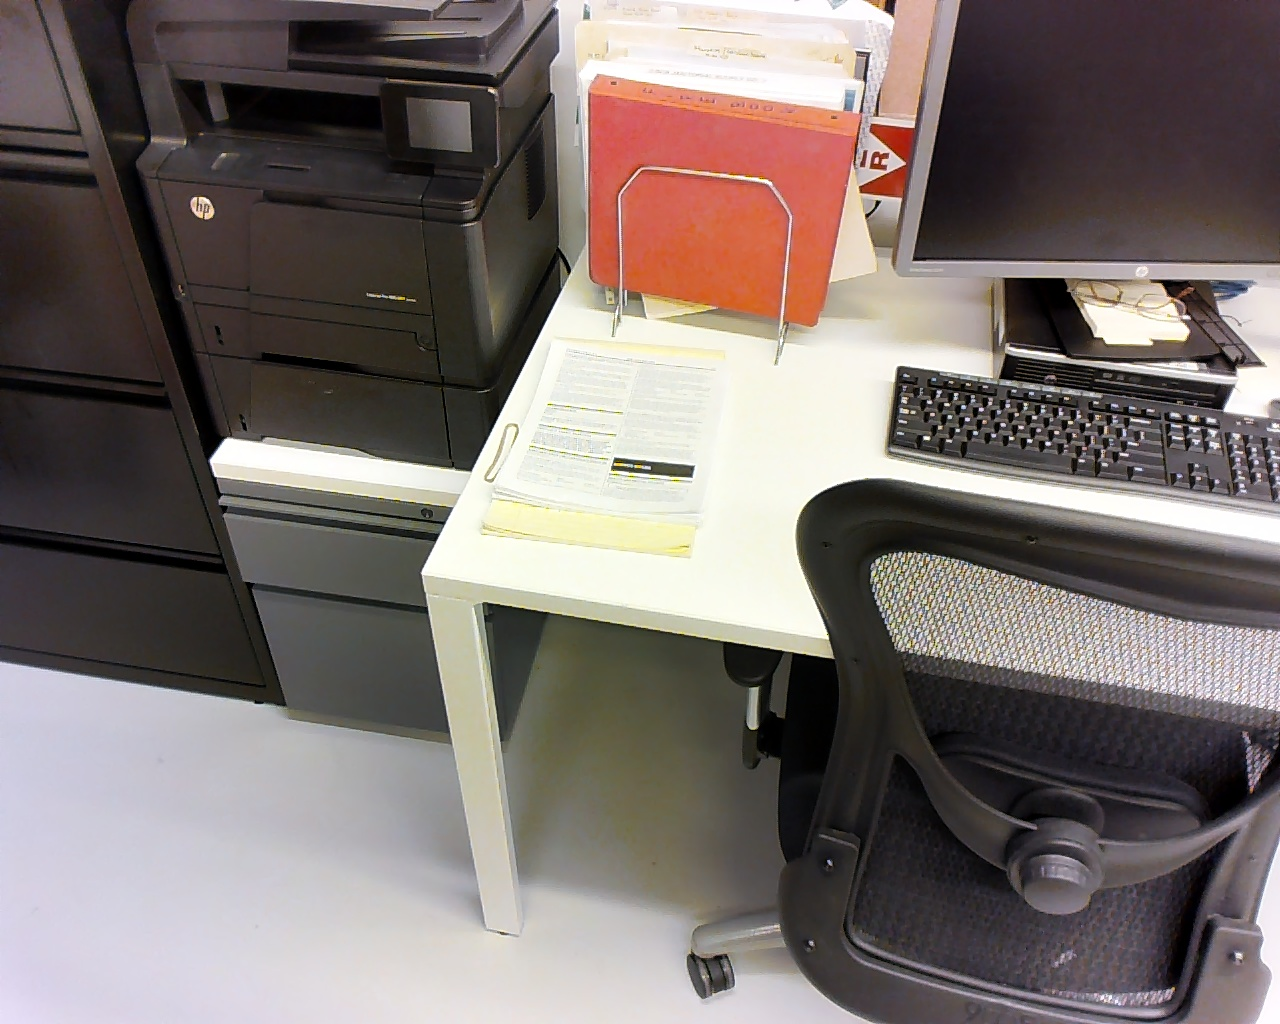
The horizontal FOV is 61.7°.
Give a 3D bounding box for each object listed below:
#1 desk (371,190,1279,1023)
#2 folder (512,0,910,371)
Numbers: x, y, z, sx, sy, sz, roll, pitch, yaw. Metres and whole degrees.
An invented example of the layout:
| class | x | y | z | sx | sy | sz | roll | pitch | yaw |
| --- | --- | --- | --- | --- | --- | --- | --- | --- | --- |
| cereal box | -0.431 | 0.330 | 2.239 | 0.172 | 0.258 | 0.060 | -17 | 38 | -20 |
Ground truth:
| class | x | y | z | sx | sy | sz | roll | pitch | yaw |
| --- | --- | --- | --- | --- | --- | --- | --- | --- | --- |
| desk | 0.480 | 0.150 | 1.470 | 1.340 | 0.760 | 0.810 | 7 | 42 | 8 |
| folder | 0.100 | -0.460 | 1.330 | 0.400 | 0.390 | 0.360 | 7 | 42 | 8 |
